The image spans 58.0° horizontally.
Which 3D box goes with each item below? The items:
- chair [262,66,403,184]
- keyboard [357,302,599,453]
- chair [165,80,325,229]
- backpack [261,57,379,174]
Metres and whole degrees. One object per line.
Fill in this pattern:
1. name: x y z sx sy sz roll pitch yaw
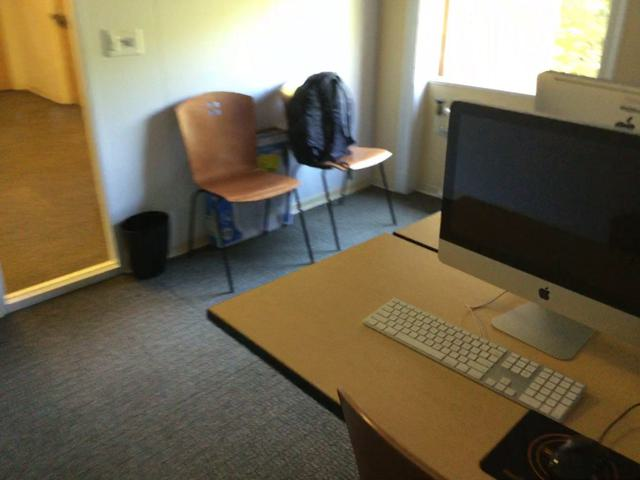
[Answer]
1. chair: 0.060 -0.640 3.090 0.490 0.460 0.540 -20 31 -37
2. keyboard: 0.270 0.230 1.070 0.140 0.020 0.430 -20 31 -37
3. chair: -0.350 -0.440 2.780 0.530 0.520 0.530 -20 31 -37
4. backpack: 0.000 -0.680 3.070 0.430 0.490 0.430 -20 31 -37
